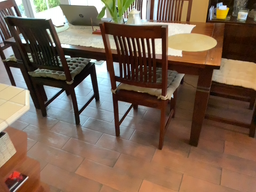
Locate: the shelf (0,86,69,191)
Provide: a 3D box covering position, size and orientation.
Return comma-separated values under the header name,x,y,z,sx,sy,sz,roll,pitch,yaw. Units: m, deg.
name,x,y,z,sx,sy,sz,roll,pitch,yaw
shelf,-0.710,0.370,1.170,0.570,0.860,0.290,13,37,21
